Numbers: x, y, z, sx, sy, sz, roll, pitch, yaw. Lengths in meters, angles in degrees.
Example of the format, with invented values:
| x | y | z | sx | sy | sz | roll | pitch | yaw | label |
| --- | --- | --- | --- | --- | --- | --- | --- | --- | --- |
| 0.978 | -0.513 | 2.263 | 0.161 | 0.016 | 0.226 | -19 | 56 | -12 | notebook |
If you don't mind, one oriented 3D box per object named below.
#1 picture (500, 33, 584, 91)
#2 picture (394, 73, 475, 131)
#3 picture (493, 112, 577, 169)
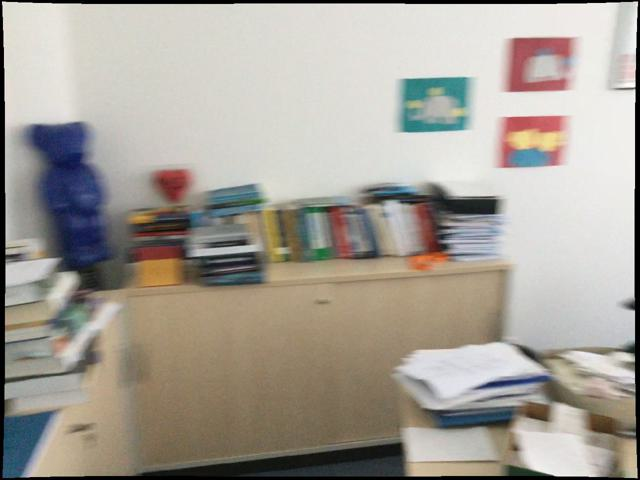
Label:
| x | y | z | sx | sy | sz | roll | pitch | yaw | label |
| --- | --- | --- | --- | --- | --- | --- | --- | --- | --- |
| 0.999 | -0.801 | 2.610 | 0.330 | 0.240 | 0.100 | -3 | 16 | -8 | picture |
| 0.509 | -0.621 | 2.590 | 0.340 | 0.240 | 0.080 | -3 | 16 | -8 | picture |
| 0.989 | -0.460 | 2.670 | 0.340 | 0.240 | 0.090 | -3 | 16 | -8 | picture |
